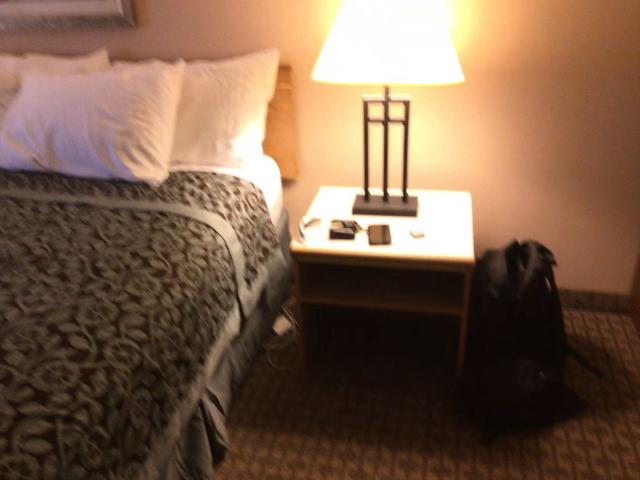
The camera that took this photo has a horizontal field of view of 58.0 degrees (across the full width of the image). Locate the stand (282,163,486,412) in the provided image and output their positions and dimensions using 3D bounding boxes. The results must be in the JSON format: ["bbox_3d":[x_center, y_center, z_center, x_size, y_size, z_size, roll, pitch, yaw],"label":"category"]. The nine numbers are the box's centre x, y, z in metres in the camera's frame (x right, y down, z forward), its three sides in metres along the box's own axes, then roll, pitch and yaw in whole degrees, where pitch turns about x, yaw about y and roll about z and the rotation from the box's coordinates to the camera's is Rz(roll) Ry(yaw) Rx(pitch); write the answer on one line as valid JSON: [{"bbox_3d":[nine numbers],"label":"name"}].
[{"bbox_3d":[0.240,0.130,2.060,0.590,0.590,0.600,7,28,11],"label":"stand"}]
